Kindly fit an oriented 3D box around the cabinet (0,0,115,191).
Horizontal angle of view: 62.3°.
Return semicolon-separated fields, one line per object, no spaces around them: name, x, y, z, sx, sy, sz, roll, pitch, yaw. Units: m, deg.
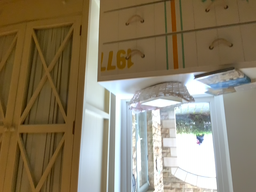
cabinet;-0.710;0.140;1.660;1.070;1.980;0.610;-4;166;14
